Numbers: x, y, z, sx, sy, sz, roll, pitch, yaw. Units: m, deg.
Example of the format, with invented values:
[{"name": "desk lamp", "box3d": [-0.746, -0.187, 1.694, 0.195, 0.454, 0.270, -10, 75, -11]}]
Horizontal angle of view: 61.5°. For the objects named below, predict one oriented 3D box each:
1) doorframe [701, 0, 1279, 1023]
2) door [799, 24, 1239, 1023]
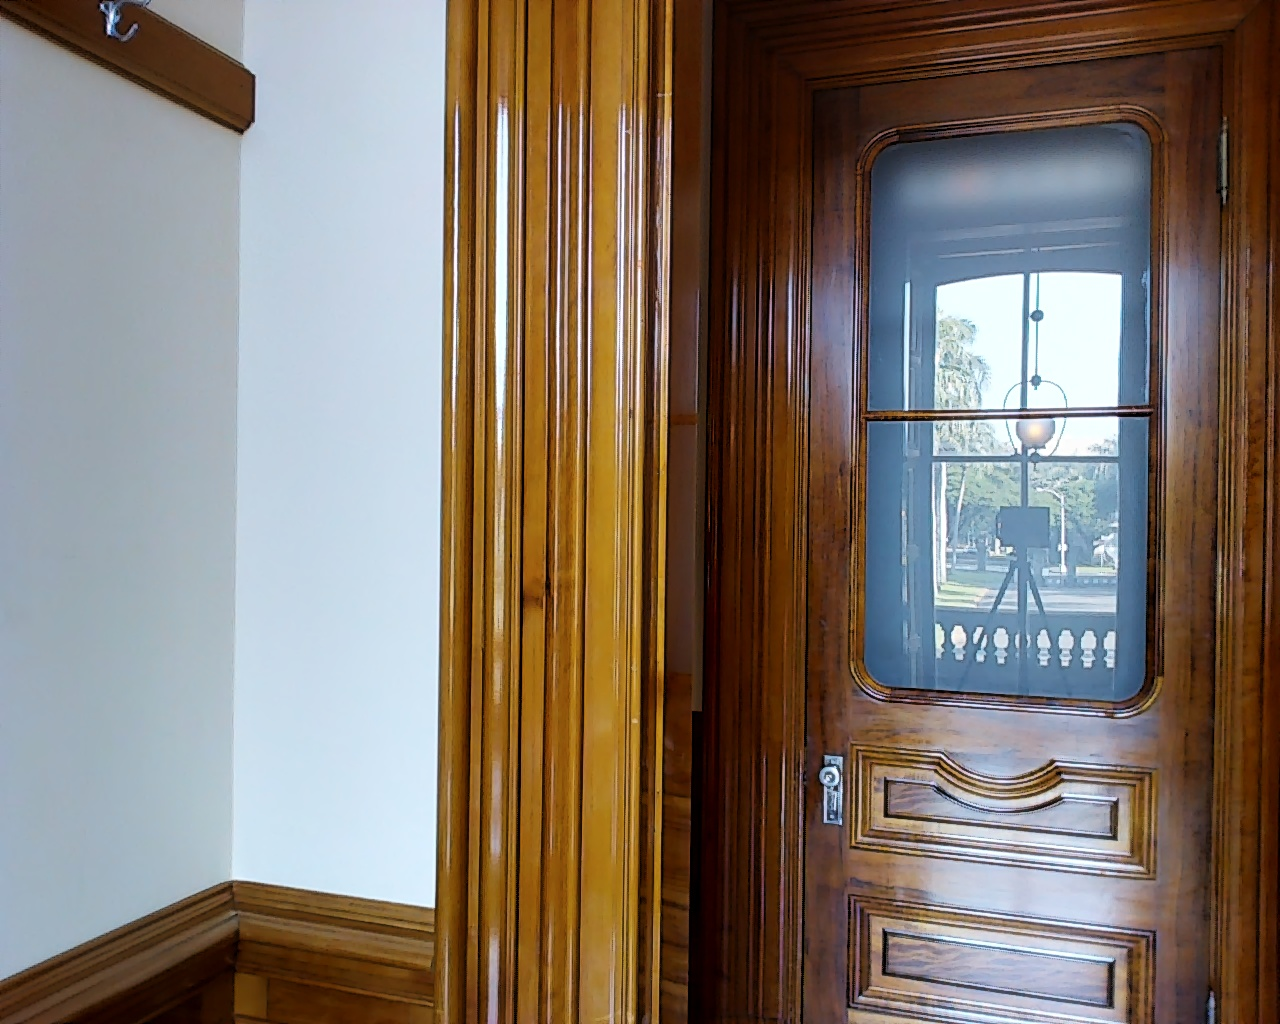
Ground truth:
[{"name": "doorframe", "box3d": [0.910, 0.070, 2.750, 1.470, 2.960, 0.160, 1, -1, 19]}, {"name": "door", "box3d": [0.950, 0.180, 2.790, 1.020, 2.720, 0.100, 1, -1, 19]}]
